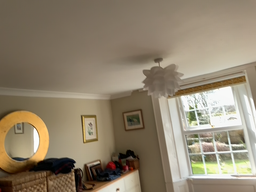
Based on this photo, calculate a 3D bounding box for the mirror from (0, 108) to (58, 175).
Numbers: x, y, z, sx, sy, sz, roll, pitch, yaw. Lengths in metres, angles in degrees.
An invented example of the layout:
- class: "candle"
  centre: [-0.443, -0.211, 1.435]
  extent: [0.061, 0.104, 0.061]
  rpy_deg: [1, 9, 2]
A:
- class: "mirror"
  centre: [-1.200, 0.480, 2.430]
  extent: [0.170, 0.660, 0.780]
  rpy_deg: [-13, -9, 28]

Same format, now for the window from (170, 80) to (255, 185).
- class: "window"
  centre: [1.300, 0.600, 3.380]
  extent: [0.970, 1.490, 0.240]
  rpy_deg: [-13, -9, 32]

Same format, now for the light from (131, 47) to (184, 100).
- class: "light"
  centre: [0.270, -0.190, 1.950]
  extent: [0.320, 0.380, 0.300]
  rpy_deg: [-13, -5, 33]
